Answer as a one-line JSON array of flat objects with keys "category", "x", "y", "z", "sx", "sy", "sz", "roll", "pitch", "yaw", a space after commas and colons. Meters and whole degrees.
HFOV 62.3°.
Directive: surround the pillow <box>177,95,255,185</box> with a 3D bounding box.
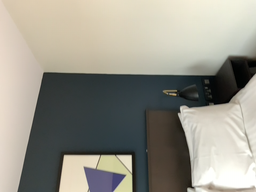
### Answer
[{"category": "pillow", "x": 0.660, "y": 0.360, "z": 1.680, "sx": 0.370, "sy": 0.460, "sz": 0.590, "roll": 70, "pitch": -162, "yaw": -59}]
